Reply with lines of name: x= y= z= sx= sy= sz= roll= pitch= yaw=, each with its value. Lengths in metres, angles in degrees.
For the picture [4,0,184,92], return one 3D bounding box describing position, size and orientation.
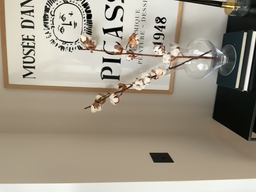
picture: x=-0.140 y=-0.330 z=0.990 sx=0.030 sy=0.800 sz=0.590 roll=-126 pitch=39 yaw=-77
